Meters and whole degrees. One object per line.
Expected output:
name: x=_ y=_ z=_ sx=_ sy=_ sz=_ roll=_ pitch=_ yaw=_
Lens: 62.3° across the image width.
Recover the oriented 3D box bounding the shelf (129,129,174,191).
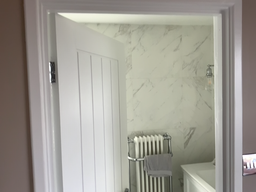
shelf: x=0.260 y=0.900 z=2.370 sx=0.410 sy=0.980 sz=0.270 roll=-3 pitch=3 yaw=-10

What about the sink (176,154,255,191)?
sink: x=0.880 y=0.770 z=1.880 sx=0.530 sy=0.140 sz=1.000 roll=-3 pitch=3 yaw=-11
